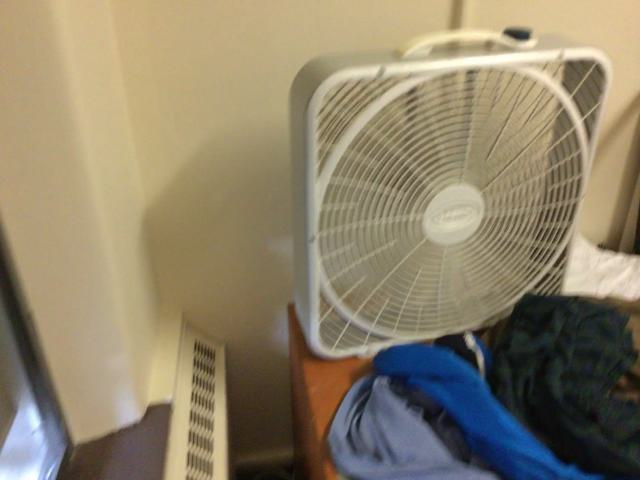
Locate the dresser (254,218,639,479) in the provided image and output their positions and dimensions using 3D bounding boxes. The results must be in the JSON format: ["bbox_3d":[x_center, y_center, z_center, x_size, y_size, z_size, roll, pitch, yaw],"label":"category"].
[{"bbox_3d":[0.370,0.510,1.220,0.920,0.820,0.680,-5,29,-5],"label":"dresser"}]

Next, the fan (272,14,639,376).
[{"bbox_3d":[0.220,-0.090,1.080,0.560,0.560,0.290,-5,29,-5],"label":"fan"}]
